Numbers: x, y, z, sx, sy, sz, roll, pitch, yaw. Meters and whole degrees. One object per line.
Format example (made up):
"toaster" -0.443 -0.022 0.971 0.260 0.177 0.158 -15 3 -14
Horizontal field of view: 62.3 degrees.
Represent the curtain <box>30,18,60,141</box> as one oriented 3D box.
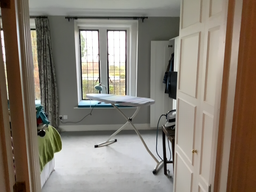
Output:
"curtain" -1.600 -0.270 4.120 0.350 2.330 0.200 0 10 0
